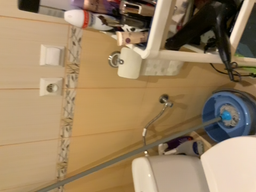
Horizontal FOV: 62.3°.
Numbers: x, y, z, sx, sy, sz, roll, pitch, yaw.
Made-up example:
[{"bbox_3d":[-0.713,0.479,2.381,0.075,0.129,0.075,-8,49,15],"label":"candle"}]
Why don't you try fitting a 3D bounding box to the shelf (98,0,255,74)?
[{"bbox_3d":[0.420,-0.270,0.880,0.370,0.990,0.230,45,129,50],"label":"shelf"}]
